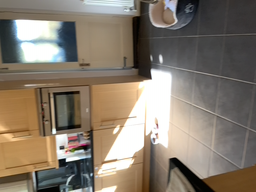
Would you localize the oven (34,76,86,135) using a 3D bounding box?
[{"bbox_3d":[-0.900,0.090,2.810,0.610,0.550,0.590,-146,54,-65],"label":"oven"}]

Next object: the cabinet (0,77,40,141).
[{"bbox_3d":[-1.460,0.130,2.600,0.610,0.650,0.620,-146,54,-65],"label":"cabinet"}]

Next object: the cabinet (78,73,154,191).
[{"bbox_3d":[-0.210,0.840,3.270,0.610,0.940,2.290,-146,54,-65],"label":"cabinet"}]
